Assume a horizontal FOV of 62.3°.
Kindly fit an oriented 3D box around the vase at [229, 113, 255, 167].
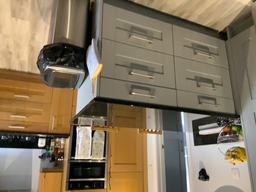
[{"bbox_3d":[0.970,0.370,1.770,0.150,0.420,0.160,-12,159,35],"label":"vase"}]
